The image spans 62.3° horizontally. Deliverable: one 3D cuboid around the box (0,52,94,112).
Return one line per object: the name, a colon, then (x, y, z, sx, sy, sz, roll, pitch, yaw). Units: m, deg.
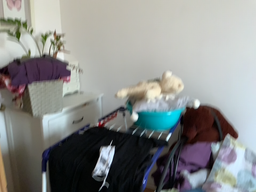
box: (-0.660, -0.160, 1.790, 0.540, 0.390, 0.510, 7, 16, 23)

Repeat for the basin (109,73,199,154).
basin: (0.200, 0.070, 1.510, 0.470, 0.380, 0.510, 8, 16, 26)
